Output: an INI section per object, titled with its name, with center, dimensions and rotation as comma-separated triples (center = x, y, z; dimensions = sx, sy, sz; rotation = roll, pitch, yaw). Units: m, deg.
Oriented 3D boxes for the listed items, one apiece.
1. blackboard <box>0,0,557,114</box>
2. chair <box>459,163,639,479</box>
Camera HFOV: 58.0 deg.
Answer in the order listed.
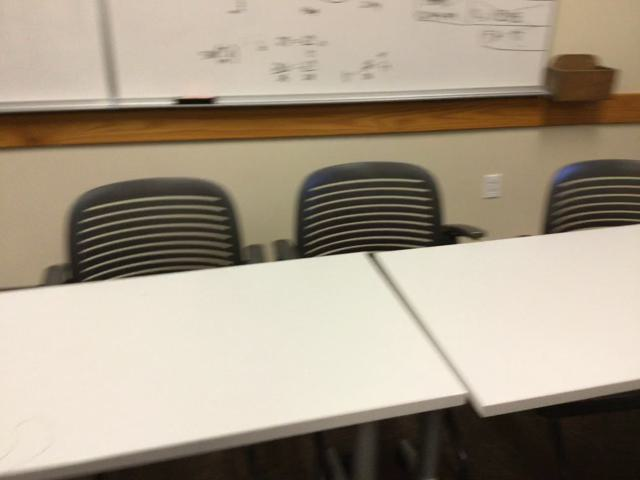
[blackboard]
center = -0.520, -1.040, 2.120
dimensions = 2.910, 1.120, 0.150
rotation = -1, 25, -7
[chair]
center = 0.810, 0.240, 1.640
dimensions = 0.600, 0.790, 0.500
rotation = 0, 25, -4
